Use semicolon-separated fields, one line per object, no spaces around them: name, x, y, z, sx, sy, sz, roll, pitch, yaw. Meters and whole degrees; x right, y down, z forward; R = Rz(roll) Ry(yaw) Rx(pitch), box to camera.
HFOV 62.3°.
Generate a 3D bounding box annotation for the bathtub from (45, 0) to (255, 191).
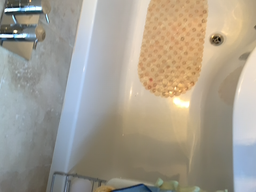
bathtub;0.260;-0.100;1.020;0.880;0.560;1.630;5;80;15
